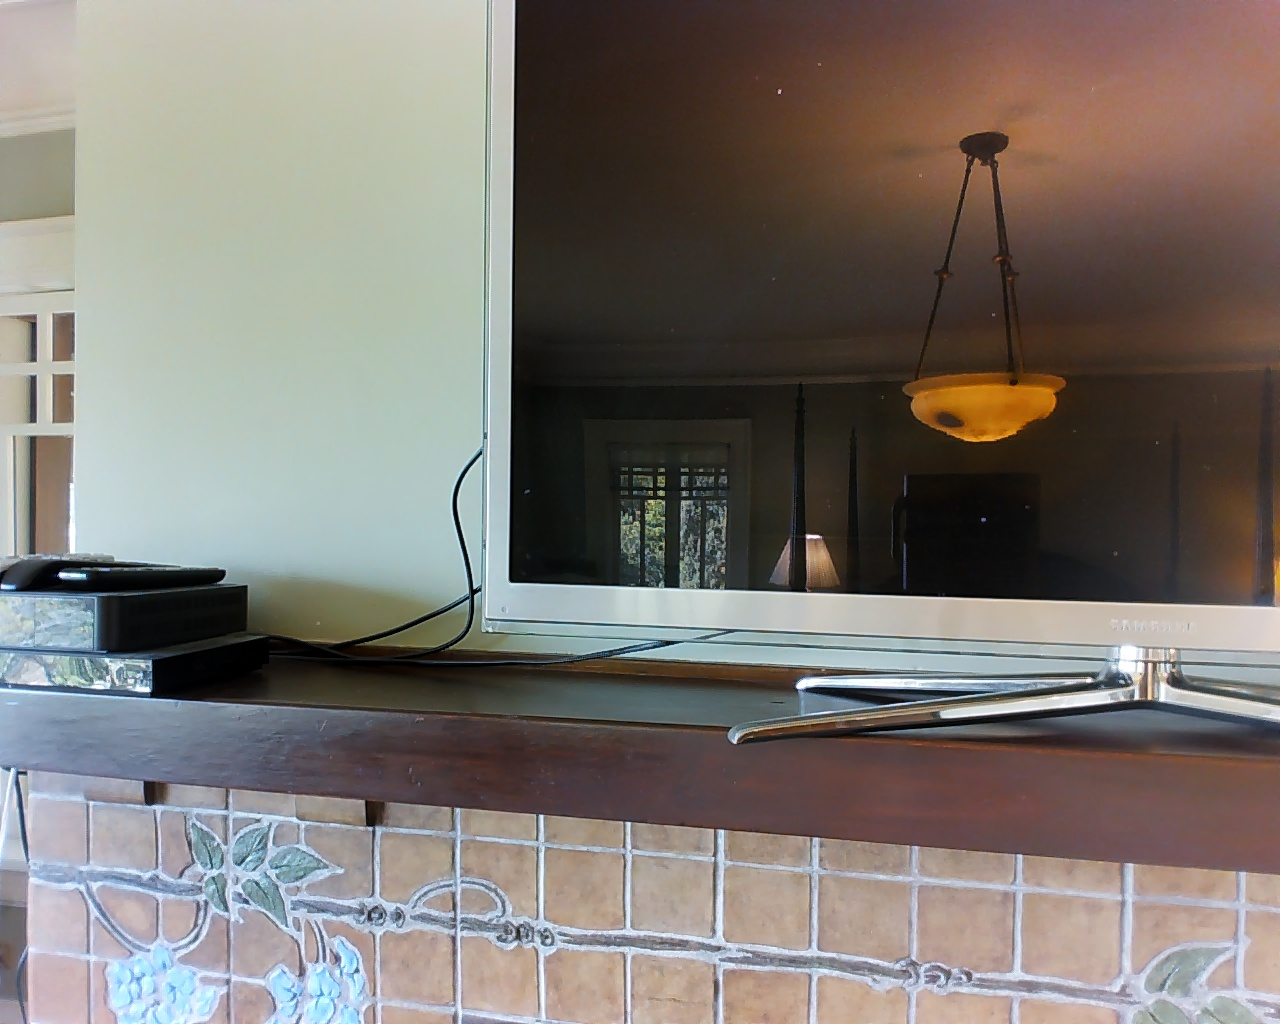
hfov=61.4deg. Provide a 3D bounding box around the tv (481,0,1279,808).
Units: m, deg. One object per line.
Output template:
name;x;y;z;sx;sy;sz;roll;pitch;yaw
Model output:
tv;0.490;-0.210;1.010;1.290;0.910;0.200;0;1;15
